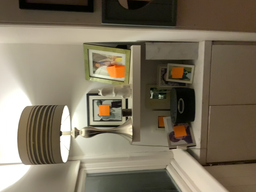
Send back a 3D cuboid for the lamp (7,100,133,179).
[{"bbox_3d":[-0.320,0.240,1.330,0.330,0.660,0.370,-135,44,-79],"label":"lamp"}]
